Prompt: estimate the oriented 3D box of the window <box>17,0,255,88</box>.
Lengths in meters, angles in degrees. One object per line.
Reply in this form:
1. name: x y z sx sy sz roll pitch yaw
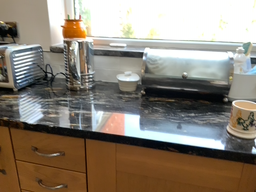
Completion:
1. window: 0.200 -0.760 1.080 1.710 1.330 0.210 7 21 13
